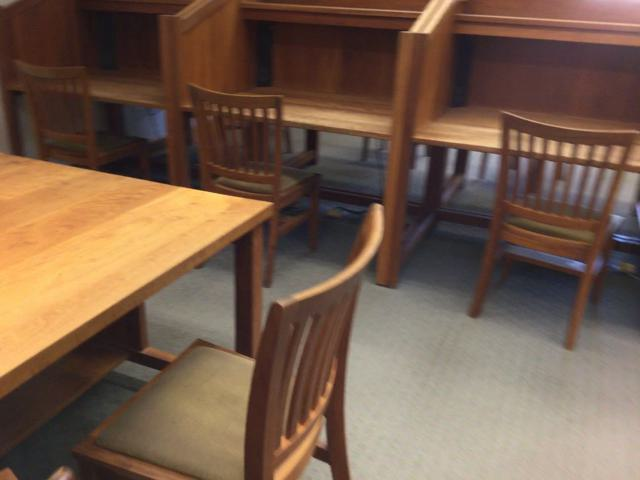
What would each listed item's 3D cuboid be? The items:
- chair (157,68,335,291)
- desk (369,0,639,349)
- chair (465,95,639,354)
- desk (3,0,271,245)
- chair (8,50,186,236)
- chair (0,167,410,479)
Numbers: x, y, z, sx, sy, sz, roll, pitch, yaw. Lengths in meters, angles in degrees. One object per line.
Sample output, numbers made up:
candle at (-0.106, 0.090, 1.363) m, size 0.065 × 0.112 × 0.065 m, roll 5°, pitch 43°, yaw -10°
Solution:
chair at (-0.330, -0.340, 2.900) m, size 0.610 × 0.920 × 0.600 m, roll 10°, pitch 25°, yaw 22°
desk at (1.030, -0.470, 2.640) m, size 1.290 × 1.400 × 1.010 m, roll 10°, pitch 25°, yaw 22°
chair at (1.000, -0.100, 2.430) m, size 0.580 × 0.890 × 0.520 m, roll 10°, pitch 25°, yaw 22°
desk at (-1.000, -0.840, 3.420) m, size 1.110 × 1.350 × 0.860 m, roll 10°, pitch 25°, yaw 22°
chair at (-1.240, -0.590, 3.330) m, size 0.630 × 0.900 × 0.560 m, roll 10°, pitch 25°, yaw 22°
chair at (-0.200, 0.380, 1.300) m, size 0.610 × 0.910 × 0.540 m, roll 10°, pitch 25°, yaw 22°
